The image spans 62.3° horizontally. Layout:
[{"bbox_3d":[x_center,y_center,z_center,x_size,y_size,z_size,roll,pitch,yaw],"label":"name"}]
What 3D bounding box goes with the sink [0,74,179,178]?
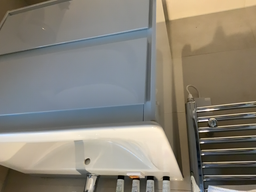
[{"bbox_3d":[-0.190,0.150,0.690,0.650,0.130,0.430,-6,147,16],"label":"sink"}]
